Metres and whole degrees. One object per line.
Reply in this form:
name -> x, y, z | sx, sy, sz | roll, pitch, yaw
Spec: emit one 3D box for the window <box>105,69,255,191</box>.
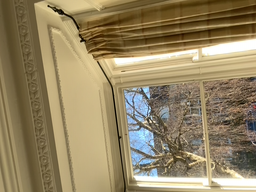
window -> 0.910, 0.380, 2.330 | 0.260, 2.250, 1.240 | -21, -75, -73
